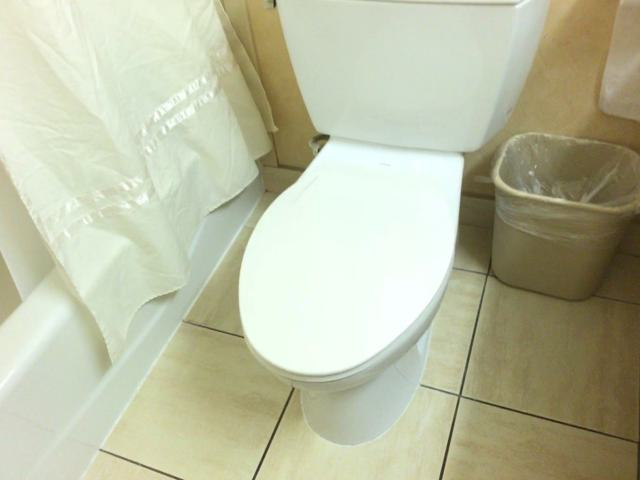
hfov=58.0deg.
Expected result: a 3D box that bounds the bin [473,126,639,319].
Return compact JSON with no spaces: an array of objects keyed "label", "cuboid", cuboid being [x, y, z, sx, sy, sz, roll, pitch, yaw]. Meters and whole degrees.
[{"label":"bin","cuboid":[0.530,-0.040,1.270,0.320,0.310,0.220,10,49,18]}]
